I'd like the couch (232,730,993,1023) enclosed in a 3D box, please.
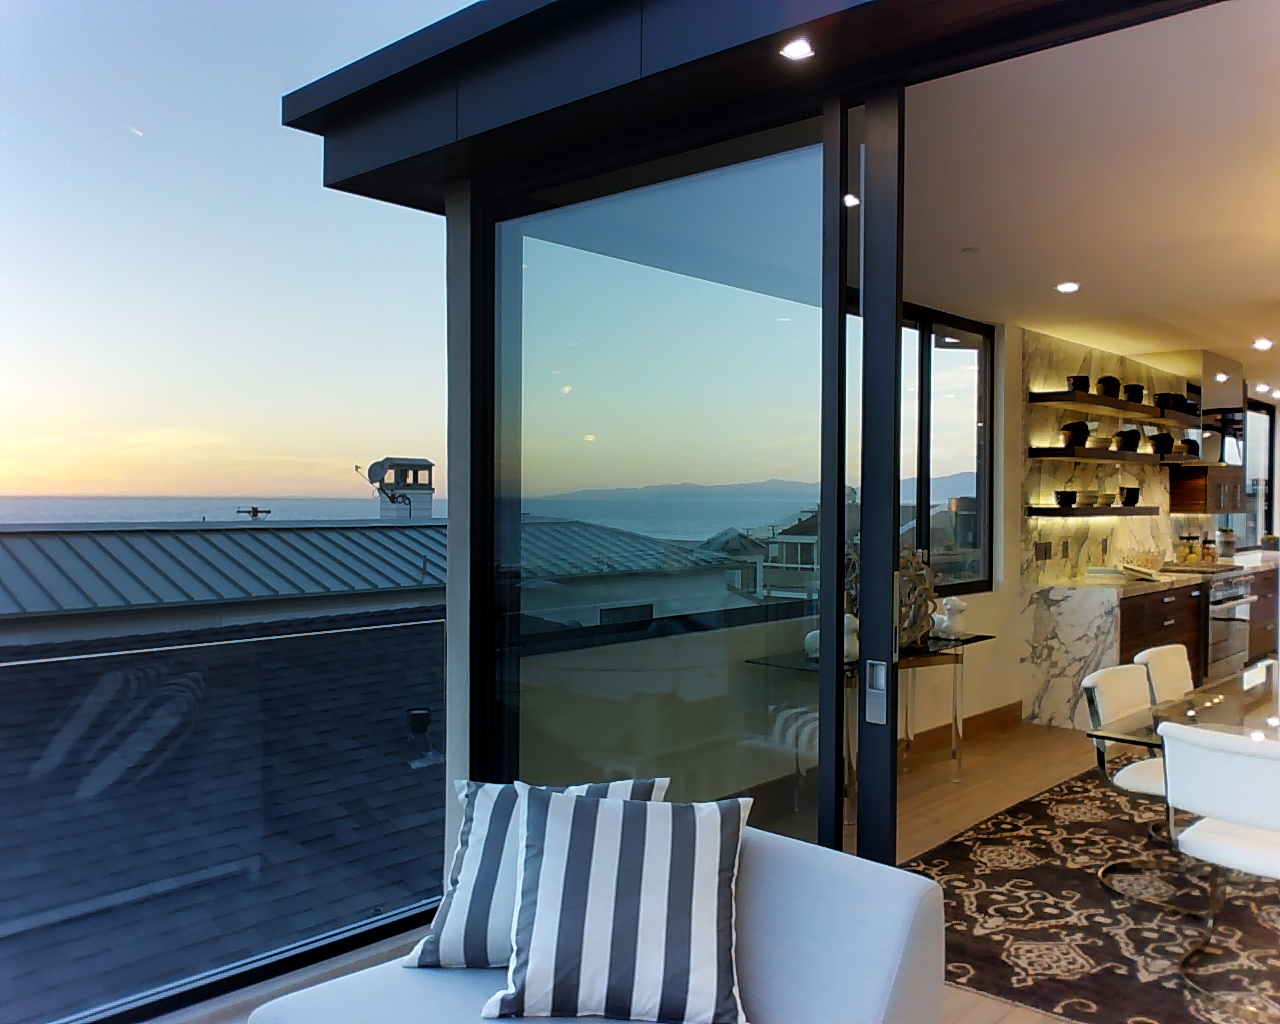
[{"bbox_3d":[-0.060,1.110,2.370,1.210,0.910,1.150,1,1,43],"label":"couch"}]
